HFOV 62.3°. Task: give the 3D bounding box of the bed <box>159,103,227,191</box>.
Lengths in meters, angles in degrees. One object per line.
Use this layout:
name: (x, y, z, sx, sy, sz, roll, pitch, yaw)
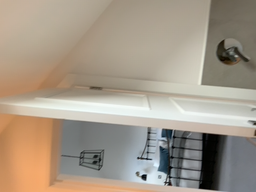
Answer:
bed: (1.180, 1.060, 4.400, 1.930, 0.740, 1.570, -53, -32, -86)
